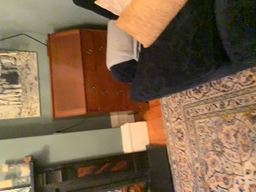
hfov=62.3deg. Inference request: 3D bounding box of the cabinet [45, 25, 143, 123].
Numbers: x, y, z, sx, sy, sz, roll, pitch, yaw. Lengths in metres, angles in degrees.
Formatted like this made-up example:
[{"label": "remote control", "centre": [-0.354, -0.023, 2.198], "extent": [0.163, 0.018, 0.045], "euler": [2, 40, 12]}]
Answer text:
[{"label": "cabinet", "centre": [-0.420, -0.230, 2.450], "extent": [0.470, 0.950, 0.950], "euler": [152, 113, -66]}]
